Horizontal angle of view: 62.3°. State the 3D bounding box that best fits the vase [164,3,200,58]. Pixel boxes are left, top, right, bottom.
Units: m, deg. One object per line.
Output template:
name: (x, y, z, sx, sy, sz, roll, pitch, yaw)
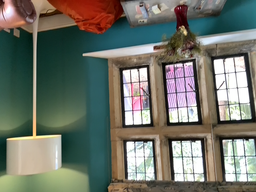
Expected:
vase: (0.480, -0.580, 1.910, 0.270, 0.430, 0.130, -4, 174, 8)
